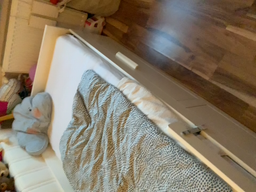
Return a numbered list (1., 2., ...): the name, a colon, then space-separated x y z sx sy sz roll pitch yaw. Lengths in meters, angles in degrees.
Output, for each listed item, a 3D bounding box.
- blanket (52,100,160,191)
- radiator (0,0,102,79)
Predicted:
1. blanket: -0.150 0.440 1.150 0.860 0.070 0.430 41 119 34
2. radiator: -0.640 -0.460 1.800 0.110 0.710 0.650 44 120 33
